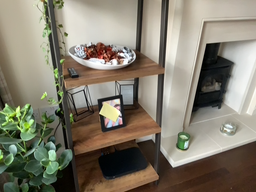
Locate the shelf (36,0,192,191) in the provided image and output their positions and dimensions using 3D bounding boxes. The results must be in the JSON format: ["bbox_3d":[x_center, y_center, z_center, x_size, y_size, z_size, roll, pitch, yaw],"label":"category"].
[{"bbox_3d":[-0.120,-0.090,1.270,0.640,1.510,0.500,-10,32,-21],"label":"shelf"}]

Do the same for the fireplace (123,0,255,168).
[{"bbox_3d":[0.830,-0.340,2.020,1.460,1.270,1.020,-10,32,-21],"label":"fireplace"}]

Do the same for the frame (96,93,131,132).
[{"bbox_3d":[-0.090,0.100,1.300,0.180,0.180,0.110,-8,31,-17],"label":"frame"}]
